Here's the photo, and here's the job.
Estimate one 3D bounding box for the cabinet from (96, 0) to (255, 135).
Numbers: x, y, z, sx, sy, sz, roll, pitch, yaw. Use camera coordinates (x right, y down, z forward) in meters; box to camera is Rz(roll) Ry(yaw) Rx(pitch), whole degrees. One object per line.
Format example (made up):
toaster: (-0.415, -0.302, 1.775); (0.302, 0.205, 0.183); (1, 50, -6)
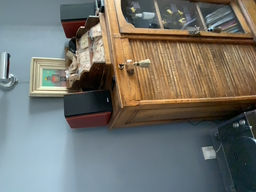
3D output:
cabinet: (0.440, -0.230, 1.470); (0.420, 1.200, 0.800); (121, 144, -62)
